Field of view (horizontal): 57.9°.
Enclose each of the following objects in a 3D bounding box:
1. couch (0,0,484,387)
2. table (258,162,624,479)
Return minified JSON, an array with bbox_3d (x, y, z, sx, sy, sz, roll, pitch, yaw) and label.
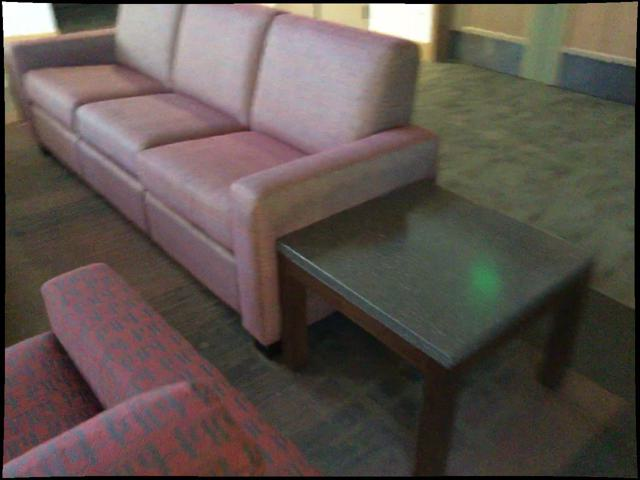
[{"bbox_3d":[-0.519,-0.521,2.460,0.840,0.861,2.200,-24,39,-31],"label":"couch"},{"bbox_3d":[0.310,0.190,1.680,0.670,0.460,0.700,-24,39,-31],"label":"table"}]
